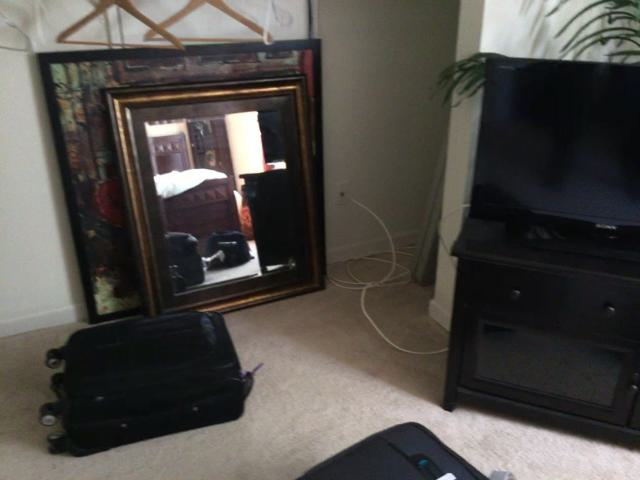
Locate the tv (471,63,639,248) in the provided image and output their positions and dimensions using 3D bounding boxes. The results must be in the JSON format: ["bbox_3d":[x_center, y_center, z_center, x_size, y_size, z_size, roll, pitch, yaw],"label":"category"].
[{"bbox_3d":[0.810,-0.230,1.590,0.750,0.480,0.150,0,14,17],"label":"tv"}]

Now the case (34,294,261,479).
[{"bbox_3d":[-0.560,0.450,1.880,0.610,0.290,0.380,-13,21,-22],"label":"case"}]
